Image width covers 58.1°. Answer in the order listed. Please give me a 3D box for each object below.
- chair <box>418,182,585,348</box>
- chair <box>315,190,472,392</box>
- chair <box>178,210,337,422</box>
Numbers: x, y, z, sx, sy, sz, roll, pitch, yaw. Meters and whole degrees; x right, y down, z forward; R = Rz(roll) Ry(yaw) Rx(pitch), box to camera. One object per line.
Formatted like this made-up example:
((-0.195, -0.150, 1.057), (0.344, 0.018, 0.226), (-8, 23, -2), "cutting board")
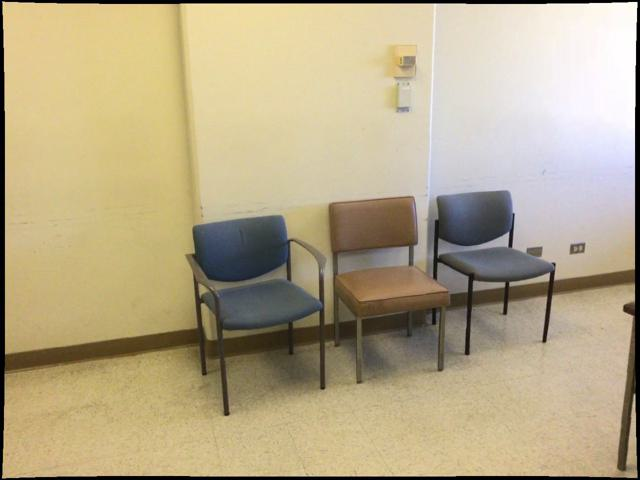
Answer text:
((0.977, 0.100, 3.240), (0.619, 0.692, 0.630), (-7, 18, -15), "chair")
((0.349, 0.221, 2.920), (0.579, 0.792, 0.570), (-7, 18, -15), "chair")
((-0.309, 0.321, 2.760), (0.609, 0.752, 0.590), (-7, 18, -15), "chair")
